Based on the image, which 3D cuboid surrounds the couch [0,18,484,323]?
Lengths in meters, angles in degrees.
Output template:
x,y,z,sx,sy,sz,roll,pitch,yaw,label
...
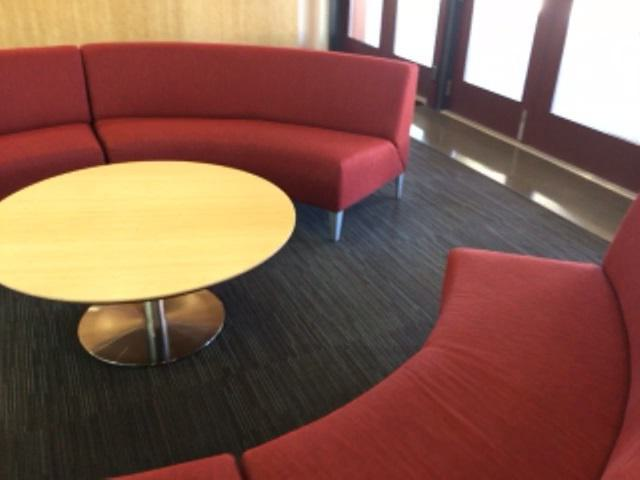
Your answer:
x,y,z,sx,sy,sz,roll,pitch,yaw,label
-0.920,-0.460,2.750,3.040,0.800,1.330,-12,33,-23,couch
